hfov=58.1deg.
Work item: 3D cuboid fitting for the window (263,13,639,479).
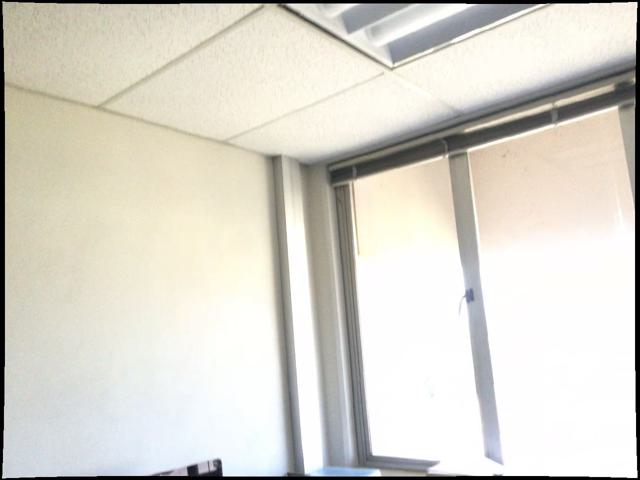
[{"bbox_3d":[1.167,0.180,2.010,3.105,1.764,0.549,-13,-13,37],"label":"window"}]
